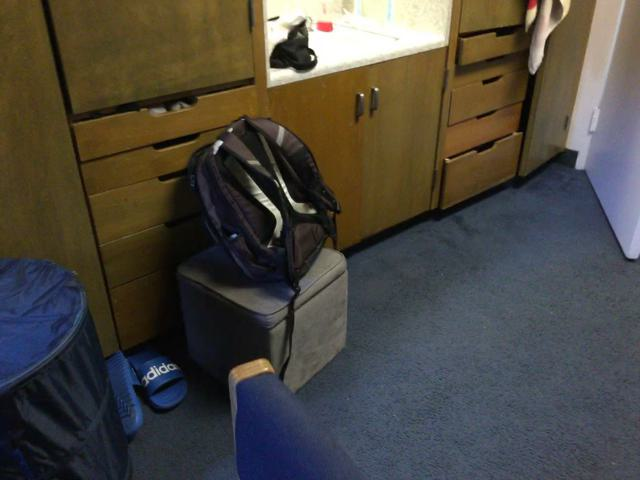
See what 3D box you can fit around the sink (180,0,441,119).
[{"bbox_3d":[-0.030,-0.740,2.190,0.760,0.260,0.590,-24,37,-32],"label":"sink"}]
